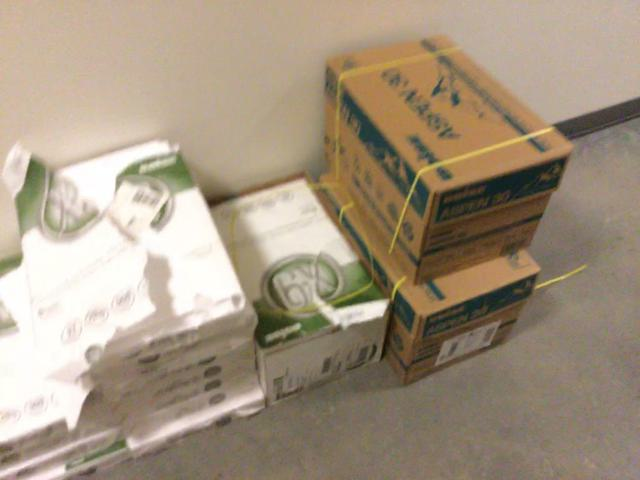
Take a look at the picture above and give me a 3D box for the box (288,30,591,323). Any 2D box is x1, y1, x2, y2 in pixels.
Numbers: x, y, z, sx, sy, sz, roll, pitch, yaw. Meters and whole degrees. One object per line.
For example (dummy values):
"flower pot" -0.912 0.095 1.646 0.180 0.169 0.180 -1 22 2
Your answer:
"box" 0.210 -0.160 1.250 0.390 0.320 0.480 -18 49 -17

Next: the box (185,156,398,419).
"box" -0.080 0.090 1.340 0.300 0.280 0.470 -18 49 -17
